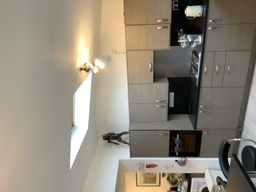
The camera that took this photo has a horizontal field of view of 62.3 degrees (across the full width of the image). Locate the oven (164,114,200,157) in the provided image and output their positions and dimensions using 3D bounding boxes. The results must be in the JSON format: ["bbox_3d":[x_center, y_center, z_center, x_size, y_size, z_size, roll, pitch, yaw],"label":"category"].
[{"bbox_3d":[1.060,0.790,4.300,0.590,0.570,0.640,-83,-8,-66],"label":"oven"}]
